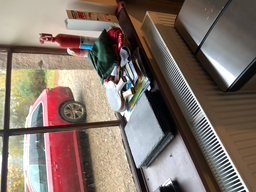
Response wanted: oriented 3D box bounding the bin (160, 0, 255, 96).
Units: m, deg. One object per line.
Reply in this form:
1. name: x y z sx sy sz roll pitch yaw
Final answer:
1. bin: 0.520 -0.300 0.910 0.320 0.510 0.510 112 146 -40
